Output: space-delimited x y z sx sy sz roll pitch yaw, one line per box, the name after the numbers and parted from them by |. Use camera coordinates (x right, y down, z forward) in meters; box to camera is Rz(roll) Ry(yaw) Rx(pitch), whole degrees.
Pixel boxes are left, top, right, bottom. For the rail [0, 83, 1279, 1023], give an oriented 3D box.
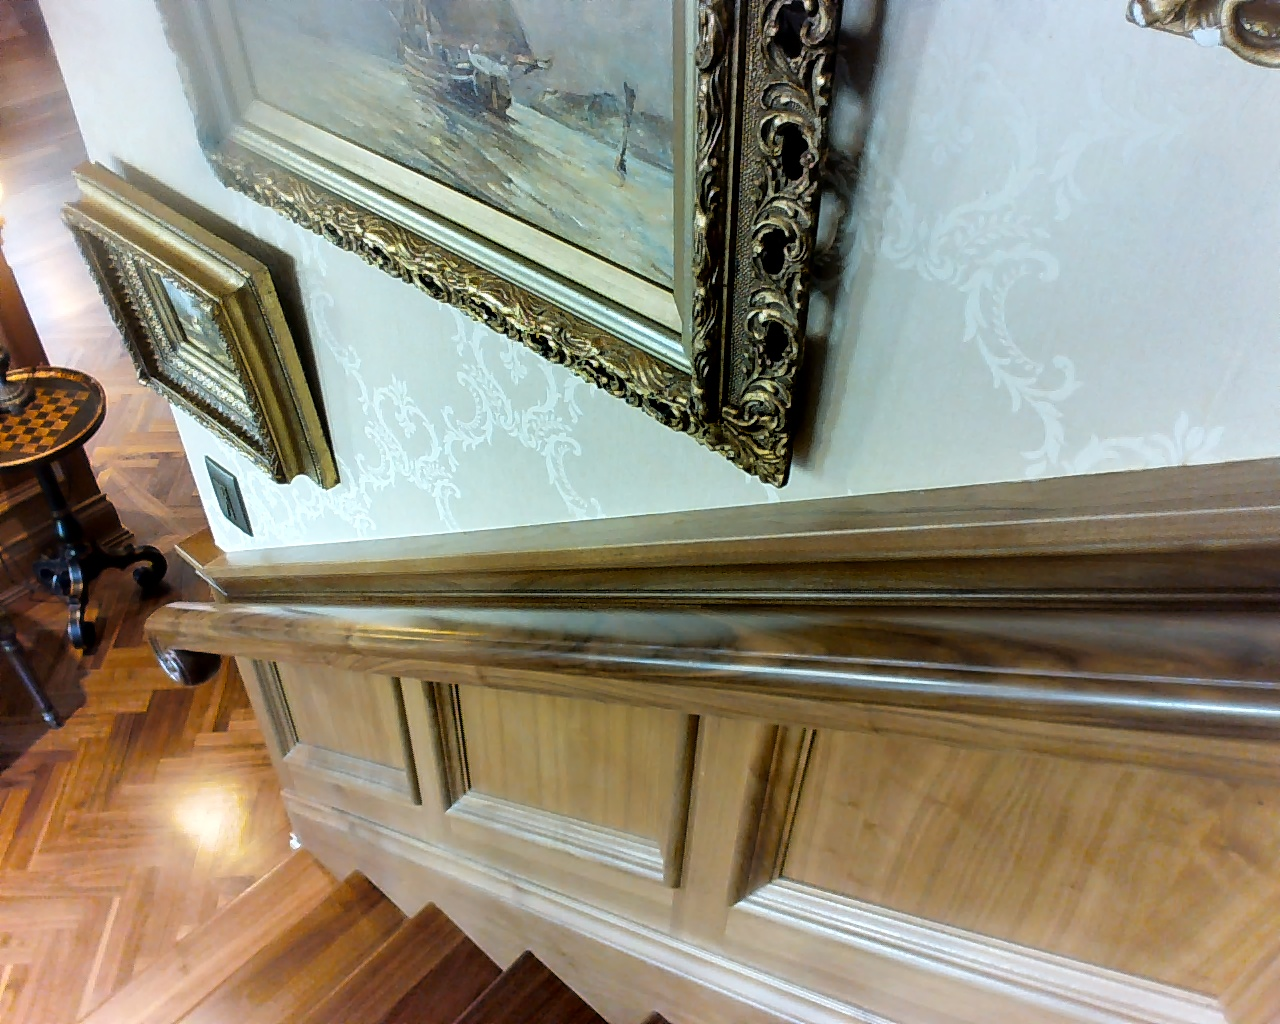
0.120 0.360 0.900 2.290 0.800 0.100 32 14 28 | rail

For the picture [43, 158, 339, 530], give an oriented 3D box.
-0.530 -0.200 1.280 0.340 0.330 0.090 31 50 28 | picture

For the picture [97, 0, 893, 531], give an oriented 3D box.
-0.170 -0.410 0.700 0.720 0.640 0.090 31 50 28 | picture
